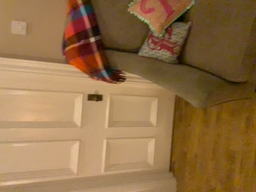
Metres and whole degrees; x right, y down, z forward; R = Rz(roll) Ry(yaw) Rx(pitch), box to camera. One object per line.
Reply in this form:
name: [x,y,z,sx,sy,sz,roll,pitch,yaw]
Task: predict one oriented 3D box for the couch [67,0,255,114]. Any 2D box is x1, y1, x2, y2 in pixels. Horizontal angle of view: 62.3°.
couch: [0.280,-0.470,1.250,0.870,1.050,0.840,-136,53,-59]
